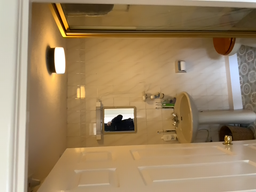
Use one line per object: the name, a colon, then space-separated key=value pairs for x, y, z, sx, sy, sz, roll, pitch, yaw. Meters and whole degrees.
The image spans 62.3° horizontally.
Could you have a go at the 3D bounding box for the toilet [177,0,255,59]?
toilet: x=1.030 y=-0.800 z=2.300 sx=0.530 sy=0.790 sz=0.640 roll=124 pitch=144 yaw=-78
